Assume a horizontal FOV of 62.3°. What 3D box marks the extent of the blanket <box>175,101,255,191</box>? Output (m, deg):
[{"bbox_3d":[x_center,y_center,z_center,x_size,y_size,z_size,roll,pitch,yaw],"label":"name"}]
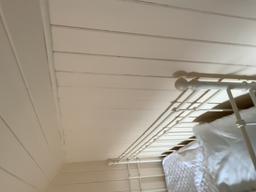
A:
[{"bbox_3d":[0.690,0.640,1.280,0.900,0.260,0.920,119,149,-59],"label":"blanket"}]
